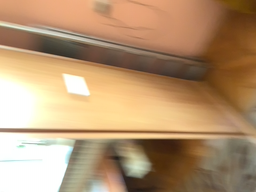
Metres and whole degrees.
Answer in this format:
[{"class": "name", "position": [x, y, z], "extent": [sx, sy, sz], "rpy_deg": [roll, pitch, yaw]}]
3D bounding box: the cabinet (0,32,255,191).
[{"class": "cabinet", "position": [-0.030, 0.490, 0.770], "extent": [0.600, 1.960, 1.710], "rpy_deg": [-65, 34, 29]}]
